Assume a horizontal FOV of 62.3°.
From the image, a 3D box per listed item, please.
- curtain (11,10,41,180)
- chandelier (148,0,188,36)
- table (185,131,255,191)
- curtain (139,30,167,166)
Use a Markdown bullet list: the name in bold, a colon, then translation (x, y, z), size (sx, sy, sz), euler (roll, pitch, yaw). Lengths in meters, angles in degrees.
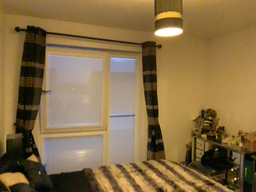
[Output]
- **curtain**: translation (-1.270, 0.000, 2.650), size (0.320, 2.030, 0.140), euler (0, 2, -24)
- **chandelier**: translation (0.310, -0.720, 1.590), size (0.230, 0.440, 0.340), euler (2, 2, 21)
- **table**: translation (1.390, 1.030, 3.220), size (0.430, 0.770, 1.080), euler (0, 2, -24)
- **curtain**: translation (0.380, 0.040, 3.280), size (0.330, 2.000, 0.220), euler (0, 2, -24)
